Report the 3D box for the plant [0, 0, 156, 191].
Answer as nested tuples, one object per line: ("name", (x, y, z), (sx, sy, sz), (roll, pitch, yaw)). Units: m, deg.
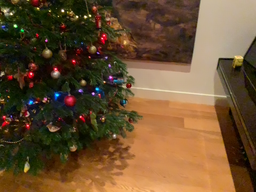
("plant", (-0.490, -0.330, 1.860), (1.280, 2.000, 1.610), (6, 32, 9))
